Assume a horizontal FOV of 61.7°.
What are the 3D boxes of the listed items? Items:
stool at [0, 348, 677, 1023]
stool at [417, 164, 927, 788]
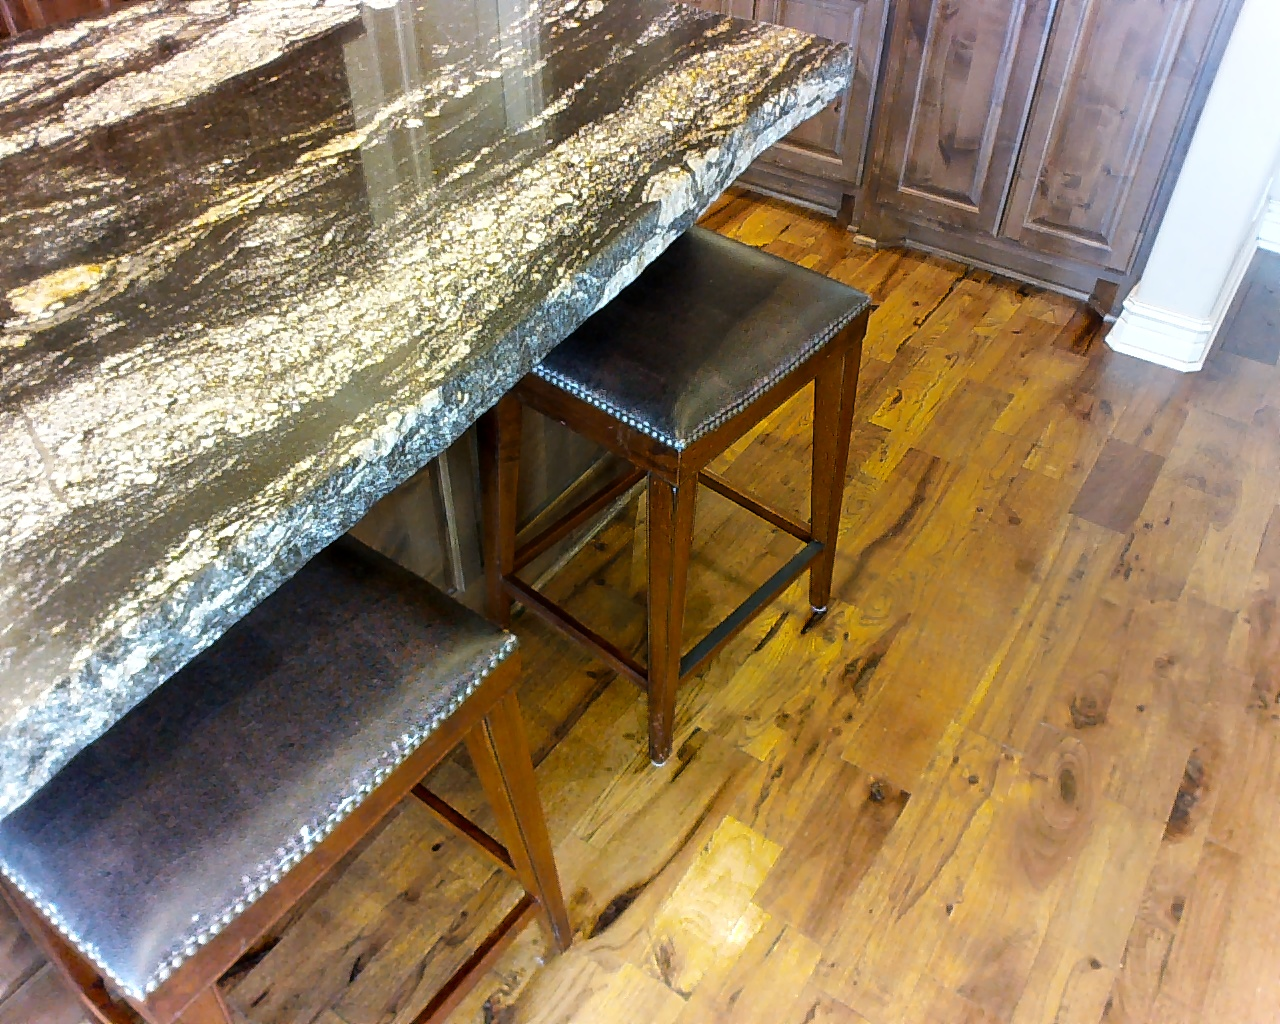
[{"bbox_3d":[-0.400,0.390,1.230,0.480,0.720,0.850,25,48,23],"label":"stool"},{"bbox_3d":[0.060,-0.070,1.740,0.480,0.690,0.580,25,48,23],"label":"stool"}]
